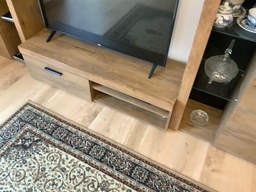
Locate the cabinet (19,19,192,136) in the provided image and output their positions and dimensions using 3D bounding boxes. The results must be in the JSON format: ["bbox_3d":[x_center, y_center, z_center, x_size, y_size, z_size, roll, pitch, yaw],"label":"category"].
[{"bbox_3d":[-0.180,-0.190,1.620,1.170,0.330,0.430,22,51,17],"label":"cabinet"}]

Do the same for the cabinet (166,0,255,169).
[{"bbox_3d":[0.700,-0.140,1.040,0.760,1.160,0.370,22,51,17],"label":"cabinet"}]
